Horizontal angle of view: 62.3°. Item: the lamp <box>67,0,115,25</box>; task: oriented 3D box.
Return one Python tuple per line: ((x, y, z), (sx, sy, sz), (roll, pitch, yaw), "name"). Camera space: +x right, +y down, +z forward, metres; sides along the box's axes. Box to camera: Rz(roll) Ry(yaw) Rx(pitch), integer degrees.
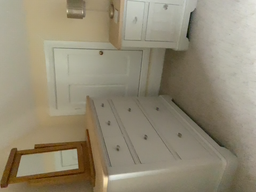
((-0.340, -0.770, 1.910), (0.220, 0.400, 0.190), (-121, 33, -59), "lamp")
